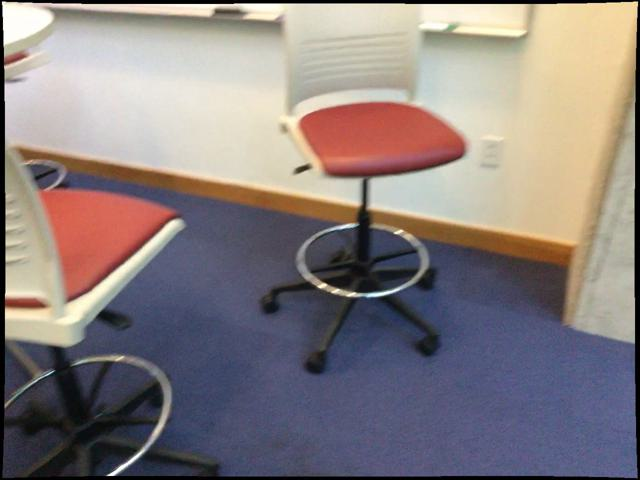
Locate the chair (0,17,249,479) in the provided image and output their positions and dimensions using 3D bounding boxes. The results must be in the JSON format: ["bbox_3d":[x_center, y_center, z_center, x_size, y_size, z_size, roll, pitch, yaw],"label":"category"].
[{"bbox_3d":[-0.609,0.140,1.340,0.580,1.111,0.550,12,36,21],"label":"chair"}]

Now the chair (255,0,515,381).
[{"bbox_3d":[0.150,-0.210,1.870,0.530,1.121,0.590,-10,34,-12],"label":"chair"}]
